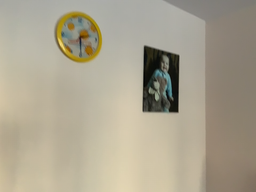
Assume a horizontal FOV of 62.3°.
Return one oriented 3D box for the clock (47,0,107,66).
[{"bbox_3d":[-0.290,-0.360,1.270,0.350,0.310,0.050,4,-4,-38],"label":"clock"}]
